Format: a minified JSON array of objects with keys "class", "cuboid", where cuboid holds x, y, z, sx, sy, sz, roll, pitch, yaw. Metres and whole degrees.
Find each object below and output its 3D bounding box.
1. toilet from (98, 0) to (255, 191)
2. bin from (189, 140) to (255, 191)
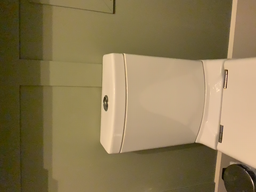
[{"class":"toilet","cuboid":[0.400,0.040,0.710,0.670,0.840,0.390,-161,73,-66]},{"class":"bin","cuboid":[0.530,0.390,1.020,0.250,0.350,0.250,-159,70,-66]}]
